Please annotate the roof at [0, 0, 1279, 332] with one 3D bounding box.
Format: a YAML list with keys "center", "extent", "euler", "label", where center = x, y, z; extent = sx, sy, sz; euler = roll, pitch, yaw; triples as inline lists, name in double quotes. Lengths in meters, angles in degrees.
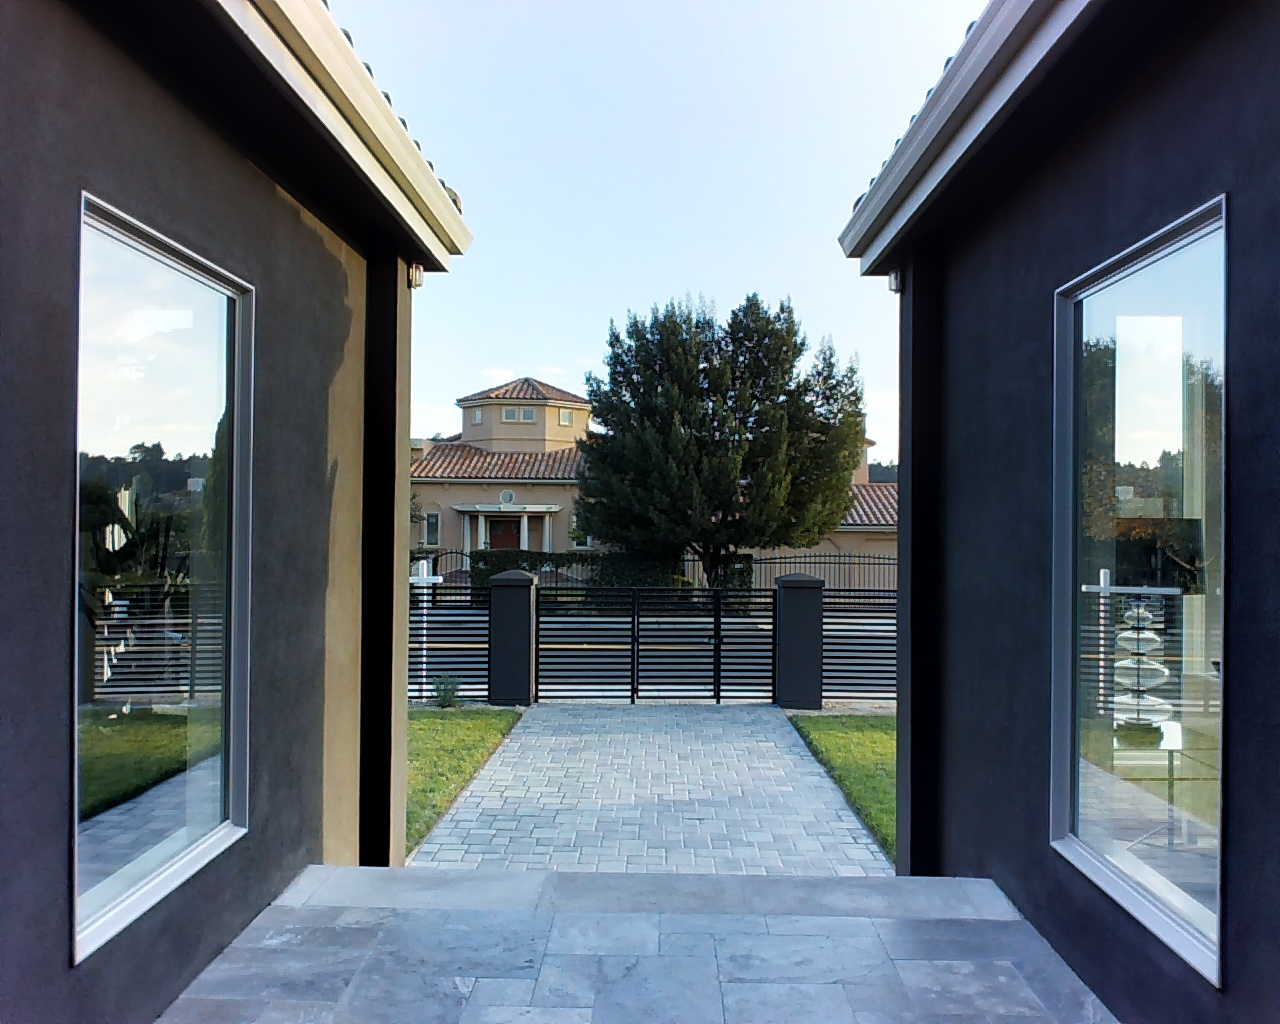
- center: [-0.600, -1.270, 1.500]
  extent: [4.230, 0.860, 6.660]
  euler: [1, 0, 1]
  label: "roof"
